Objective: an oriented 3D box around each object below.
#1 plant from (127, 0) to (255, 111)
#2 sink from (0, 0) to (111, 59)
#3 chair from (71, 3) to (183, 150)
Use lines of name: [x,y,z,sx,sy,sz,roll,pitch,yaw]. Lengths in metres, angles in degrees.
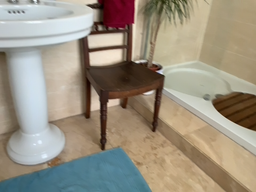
plant: [0.520,-0.820,1.610,0.700,1.640,0.690,-11,33,-26]
sink: [-0.490,-0.340,0.970,0.640,0.140,0.540,-13,34,-29]
chair: [-0.050,-0.160,1.450,0.490,0.810,0.470,-14,34,-30]
